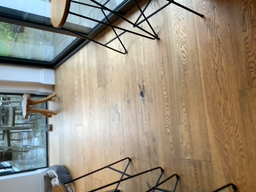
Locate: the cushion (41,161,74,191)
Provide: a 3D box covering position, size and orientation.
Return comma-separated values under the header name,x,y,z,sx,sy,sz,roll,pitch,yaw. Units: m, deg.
name,x,y,z,sx,sy,sz,roll,pitch,yaw
cushion,-1.020,1.470,3.020,0.800,0.200,0.990,-18,74,51
